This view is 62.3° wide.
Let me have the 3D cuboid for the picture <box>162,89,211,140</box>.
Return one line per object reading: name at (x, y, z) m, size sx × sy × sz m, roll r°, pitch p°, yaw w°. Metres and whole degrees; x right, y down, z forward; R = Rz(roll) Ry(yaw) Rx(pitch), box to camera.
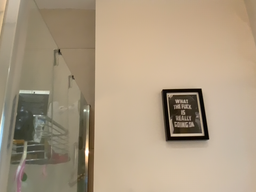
picture at (0.290, 0.090, 1.080) m, size 0.210 × 0.250 × 0.040 m, roll -2°, pitch -18°, yaw -2°
